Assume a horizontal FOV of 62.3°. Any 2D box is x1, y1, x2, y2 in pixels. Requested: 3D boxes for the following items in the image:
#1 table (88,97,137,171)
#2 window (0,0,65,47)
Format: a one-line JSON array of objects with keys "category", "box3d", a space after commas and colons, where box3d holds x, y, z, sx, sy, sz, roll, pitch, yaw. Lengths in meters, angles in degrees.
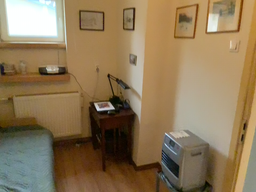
[{"category": "table", "box3d": [-0.230, 0.440, 2.730, 0.450, 0.690, 0.640, -4, 17, -21]}, {"category": "window", "box3d": [-1.290, -1.060, 2.750, 0.860, 0.810, 0.280, -4, 17, -21]}]
